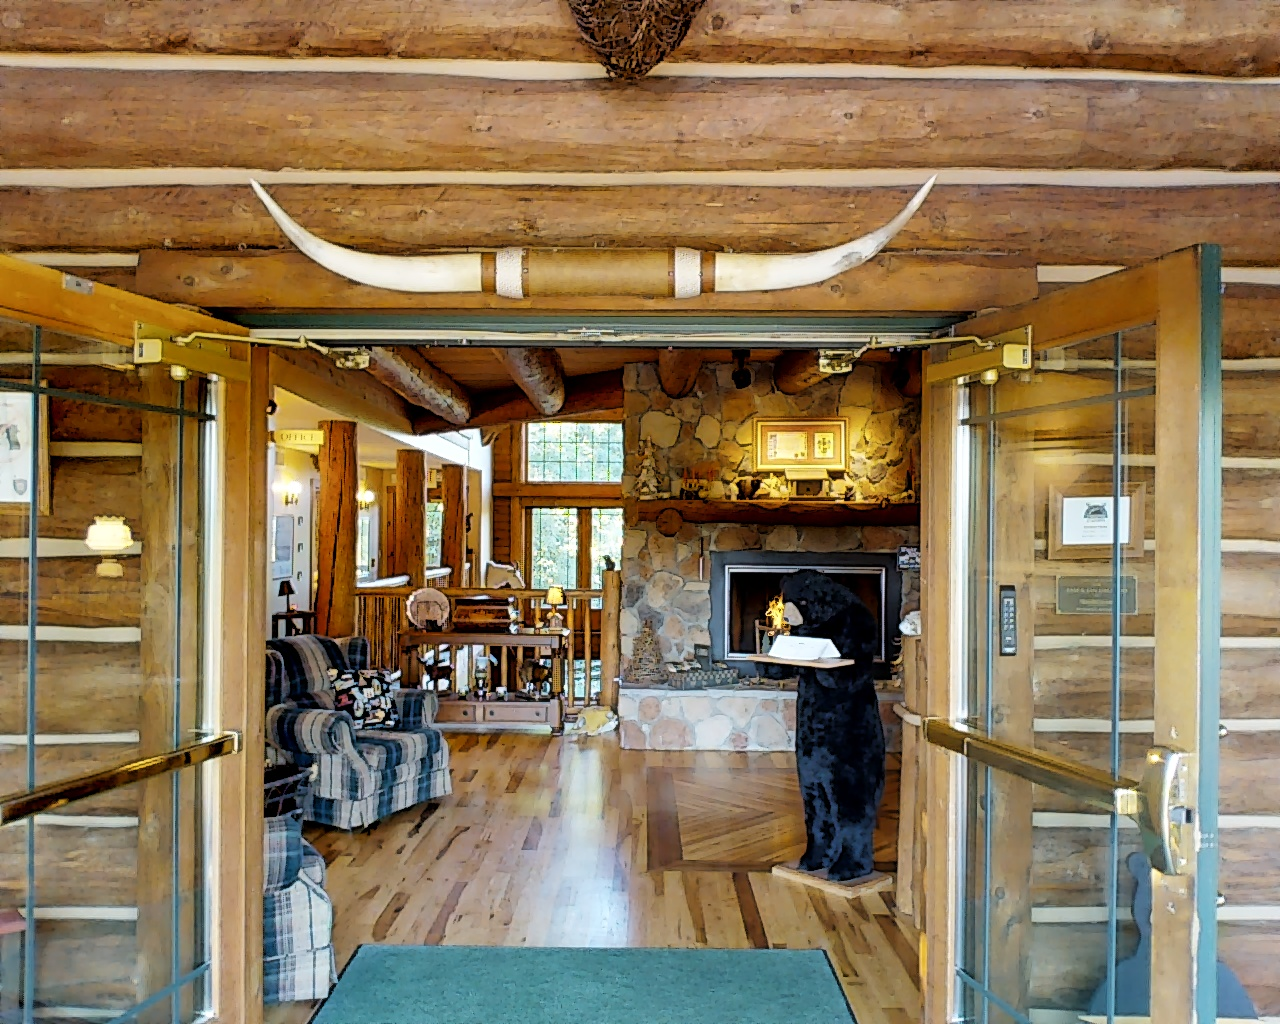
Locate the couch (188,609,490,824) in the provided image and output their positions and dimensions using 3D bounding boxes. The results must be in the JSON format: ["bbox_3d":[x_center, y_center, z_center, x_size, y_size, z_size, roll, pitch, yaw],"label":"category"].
[{"bbox_3d":[-1.670,1.080,6.080,1.200,0.930,1.110,0,-1,27],"label":"couch"}]

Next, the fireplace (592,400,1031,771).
[{"bbox_3d":[1.200,0.520,8.410,3.059,2.571,1.740,0,0,0],"label":"fireplace"}]
